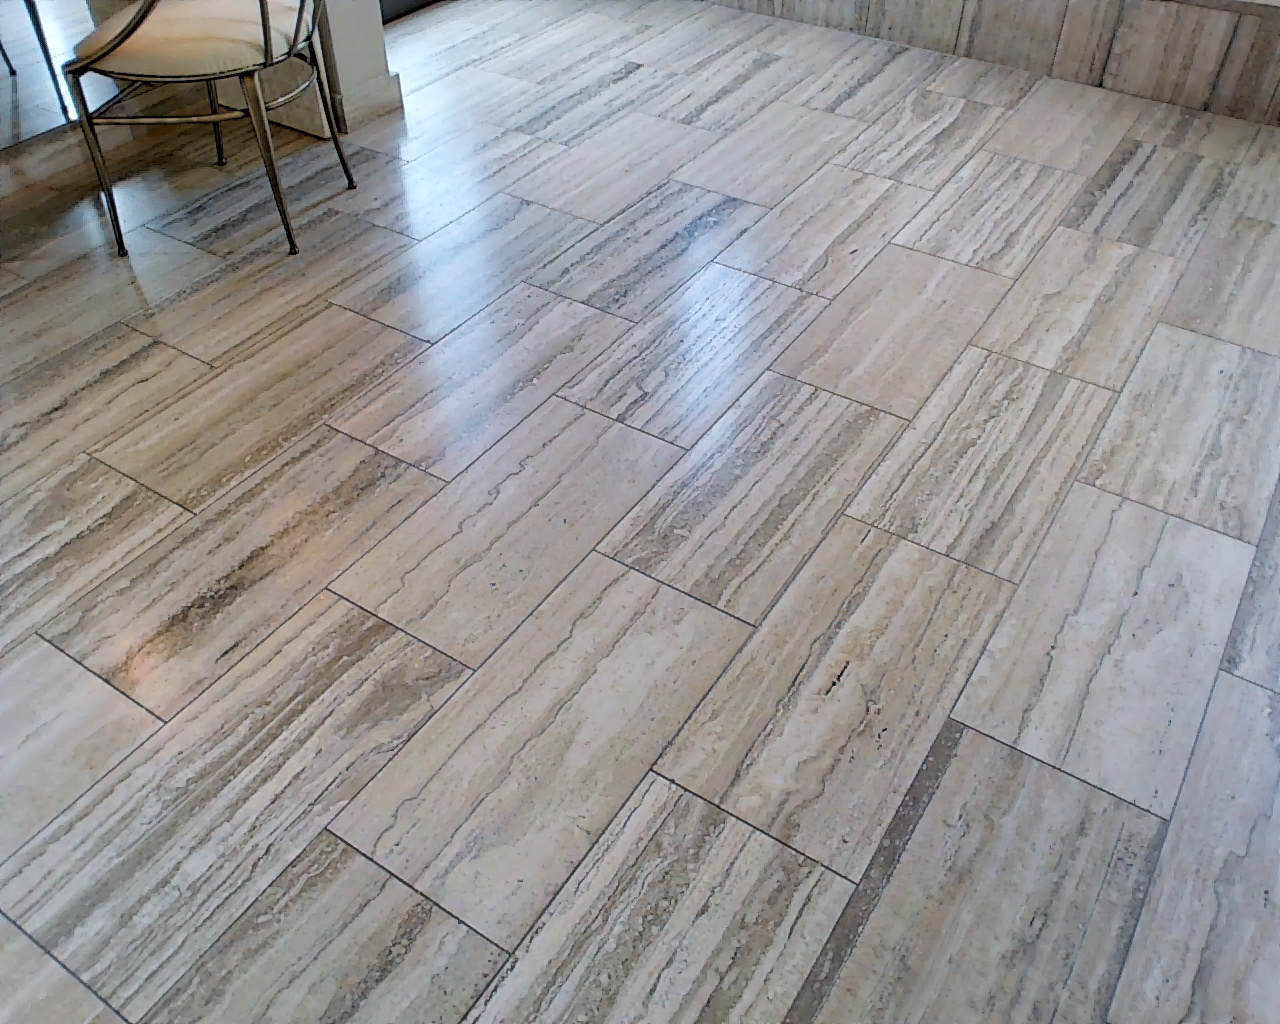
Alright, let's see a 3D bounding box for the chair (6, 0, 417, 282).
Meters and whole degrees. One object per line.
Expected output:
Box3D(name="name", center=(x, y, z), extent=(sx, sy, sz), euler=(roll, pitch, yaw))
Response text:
Box3D(name="chair", center=(-0.900, -1.010, 2.370), extent=(0.550, 0.750, 0.580), euler=(7, 43, 7))
